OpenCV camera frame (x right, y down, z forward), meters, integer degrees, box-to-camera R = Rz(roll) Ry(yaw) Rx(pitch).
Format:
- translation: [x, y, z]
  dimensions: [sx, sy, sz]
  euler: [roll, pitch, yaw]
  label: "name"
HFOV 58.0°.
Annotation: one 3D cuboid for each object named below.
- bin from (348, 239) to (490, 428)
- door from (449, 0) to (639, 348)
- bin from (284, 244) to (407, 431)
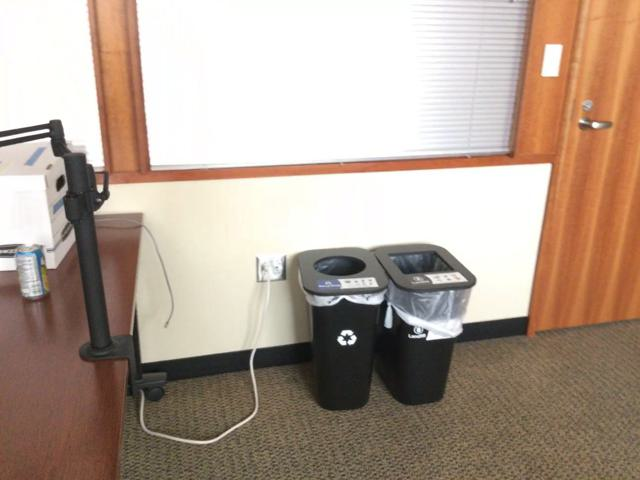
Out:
- translation: [0.340, 0.320, 2.160]
  dimensions: [0.320, 0.550, 0.440]
  euler: [-1, 16, -15]
  label: "bin"
- translation: [1.270, -0.730, 2.240]
  dimensions: [1.180, 2.400, 0.240]
  euler: [-1, 20, -15]
  label: "door"
- translation: [0.070, 0.330, 2.110]
  dimensions: [0.310, 0.540, 0.400]
  euler: [-1, 16, -15]
  label: "bin"
